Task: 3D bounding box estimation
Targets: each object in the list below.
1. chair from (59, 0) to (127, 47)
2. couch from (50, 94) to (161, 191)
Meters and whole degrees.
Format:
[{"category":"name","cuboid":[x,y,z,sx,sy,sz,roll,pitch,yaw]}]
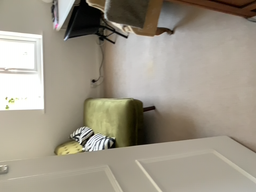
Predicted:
[{"category":"chair","cuboid":[-0.460,-0.980,2.690,0.550,0.720,0.530,0,90,63]},{"category":"couch","cuboid":[-0.420,0.450,2.550,1.680,0.780,0.930,0,90,63]}]
